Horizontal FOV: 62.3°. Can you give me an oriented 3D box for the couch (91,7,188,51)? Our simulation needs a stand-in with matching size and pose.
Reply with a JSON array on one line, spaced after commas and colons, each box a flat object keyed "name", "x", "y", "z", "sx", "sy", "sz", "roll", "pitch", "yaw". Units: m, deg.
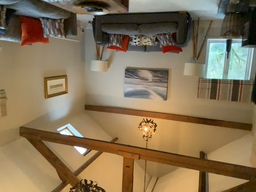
[{"name": "couch", "x": 0.310, "y": -1.500, "z": 4.970, "sx": 1.990, "sy": 0.760, "sz": 1.200, "roll": 6, "pitch": -169, "yaw": 18}]
